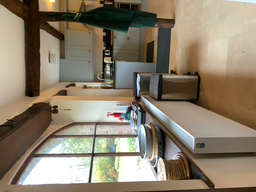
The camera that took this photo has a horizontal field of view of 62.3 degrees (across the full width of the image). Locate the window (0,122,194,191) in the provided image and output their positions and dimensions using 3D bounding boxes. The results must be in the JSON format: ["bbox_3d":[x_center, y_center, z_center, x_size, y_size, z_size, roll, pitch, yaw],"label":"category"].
[{"bbox_3d":[-0.410,0.540,2.150,2.350,1.360,0.100,-153,65,-81],"label":"window"}]

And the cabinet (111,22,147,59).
[{"bbox_3d":[-0.010,-1.520,5.950,0.580,0.900,0.920,-124,36,-77],"label":"cabinet"}]

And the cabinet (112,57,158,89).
[{"bbox_3d":[0.140,-0.510,4.700,0.360,0.930,0.640,-126,39,-77],"label":"cabinet"}]

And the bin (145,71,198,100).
[{"bbox_3d":[0.530,-0.130,2.720,0.510,0.510,0.320,-168,80,-82],"label":"bin"}]

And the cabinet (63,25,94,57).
[{"bbox_3d":[-1.360,-1.510,5.880,0.330,0.810,0.780,-124,36,-77],"label":"cabinet"}]
